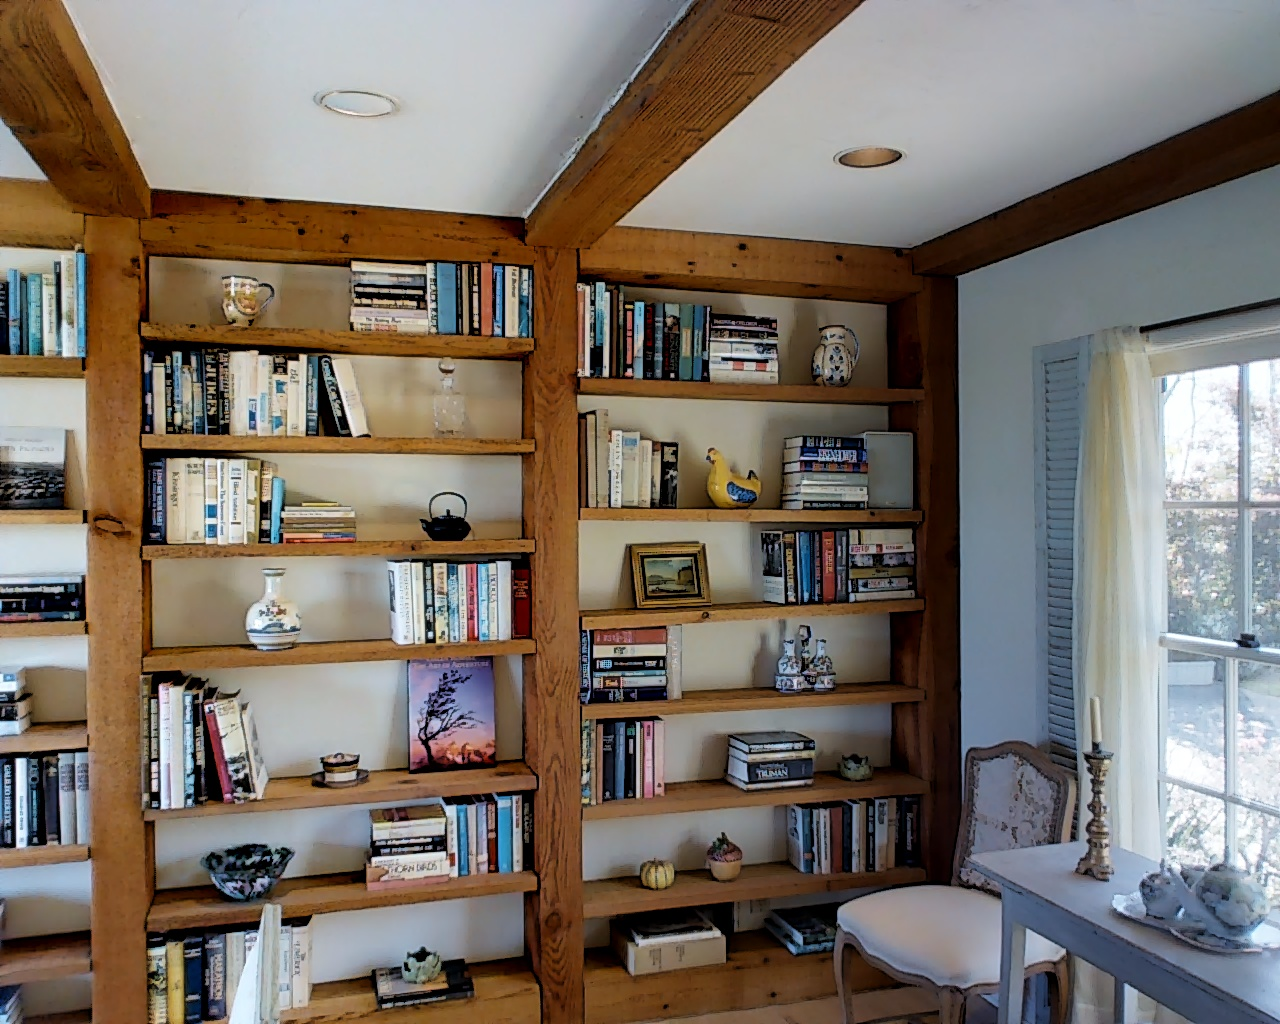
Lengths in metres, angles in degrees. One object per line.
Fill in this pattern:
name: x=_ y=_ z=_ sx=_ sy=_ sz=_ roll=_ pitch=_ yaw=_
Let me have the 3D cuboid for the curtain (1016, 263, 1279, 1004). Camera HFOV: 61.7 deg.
curtain: x=1.550 y=0.270 z=2.310 sx=0.250 sy=1.630 sz=2.020 roll=-1 pitch=0 yaw=-17

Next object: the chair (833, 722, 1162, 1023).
chair: x=0.990 y=1.130 z=3.040 sx=0.690 sy=0.920 sz=0.550 roll=-1 pitch=0 yaw=-17
